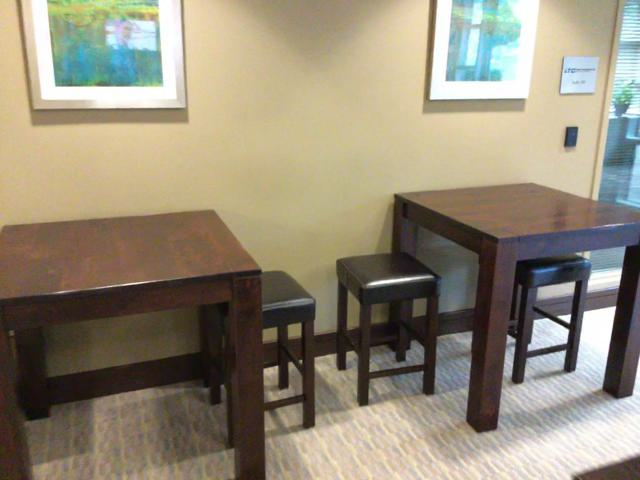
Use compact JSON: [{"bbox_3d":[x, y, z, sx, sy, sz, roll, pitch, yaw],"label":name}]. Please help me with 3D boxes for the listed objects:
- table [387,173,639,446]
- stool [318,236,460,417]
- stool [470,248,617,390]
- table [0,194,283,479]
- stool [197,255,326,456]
[{"bbox_3d":[1.010,0.240,2.930,1.000,0.950,0.980,-7,16,-17],"label":"table"},{"bbox_3d":[0.330,0.400,2.950,0.490,0.660,0.610,-7,16,-17],"label":"stool"},{"bbox_3d":[1.160,0.390,3.080,0.490,0.530,0.510,-7,16,-17],"label":"stool"},{"bbox_3d":[-0.750,0.430,2.360,0.930,1.000,0.960,-7,16,-17],"label":"table"},{"bbox_3d":[-0.280,0.490,2.660,0.430,0.670,0.570,-7,16,-17],"label":"stool"}]
